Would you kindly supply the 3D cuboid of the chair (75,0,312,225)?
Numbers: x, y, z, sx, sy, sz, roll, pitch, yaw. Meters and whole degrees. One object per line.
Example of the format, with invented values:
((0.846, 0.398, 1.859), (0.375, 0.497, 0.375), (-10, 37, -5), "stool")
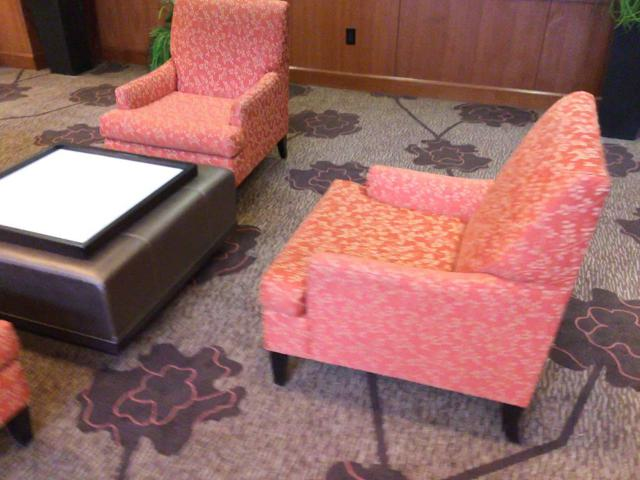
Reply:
((-0.610, -0.780, 3.010), (0.770, 0.960, 0.900), (16, 30, 13), "chair")

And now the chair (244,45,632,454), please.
((0.330, -0.040, 1.840), (0.840, 0.870, 0.750), (16, 30, 13), "chair")
